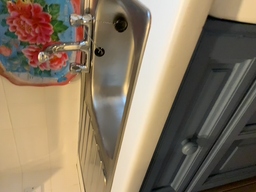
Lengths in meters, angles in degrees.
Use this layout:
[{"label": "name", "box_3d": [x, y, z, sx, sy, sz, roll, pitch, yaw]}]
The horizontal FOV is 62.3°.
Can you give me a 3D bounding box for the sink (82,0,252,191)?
[{"label": "sink", "box_3d": [0.010, -0.060, 0.630, 0.440, 0.200, 0.470, -117, 31, -46]}]
